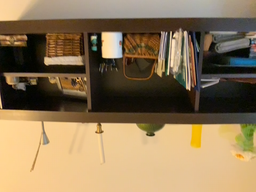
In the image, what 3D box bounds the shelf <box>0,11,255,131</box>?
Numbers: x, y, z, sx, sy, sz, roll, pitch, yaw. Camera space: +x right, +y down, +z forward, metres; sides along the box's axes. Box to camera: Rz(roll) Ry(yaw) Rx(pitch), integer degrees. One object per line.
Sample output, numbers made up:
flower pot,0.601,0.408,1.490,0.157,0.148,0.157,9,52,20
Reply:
shelf,0.080,-0.130,1.000,1.370,0.460,0.340,1,-165,3
